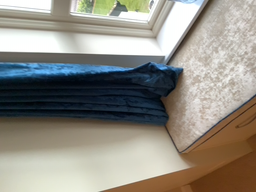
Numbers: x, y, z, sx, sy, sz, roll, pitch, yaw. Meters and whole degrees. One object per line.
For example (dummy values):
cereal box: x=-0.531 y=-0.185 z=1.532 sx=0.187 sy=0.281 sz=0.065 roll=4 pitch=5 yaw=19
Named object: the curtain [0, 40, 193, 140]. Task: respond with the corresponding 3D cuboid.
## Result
curtain: x=-0.460 y=-0.030 z=1.260 sx=0.450 sy=1.710 sz=0.340 roll=-58 pitch=44 yaw=49
